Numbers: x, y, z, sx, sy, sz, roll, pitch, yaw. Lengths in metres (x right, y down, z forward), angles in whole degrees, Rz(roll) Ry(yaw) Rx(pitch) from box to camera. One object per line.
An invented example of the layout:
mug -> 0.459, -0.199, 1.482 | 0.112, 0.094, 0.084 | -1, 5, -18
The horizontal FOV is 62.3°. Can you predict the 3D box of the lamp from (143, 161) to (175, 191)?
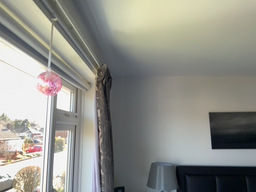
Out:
lamp -> 0.340, 1.070, 2.380 | 0.330, 0.610, 0.340 | 0, -9, 4
